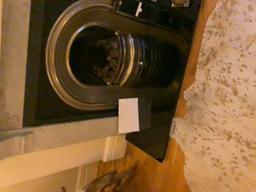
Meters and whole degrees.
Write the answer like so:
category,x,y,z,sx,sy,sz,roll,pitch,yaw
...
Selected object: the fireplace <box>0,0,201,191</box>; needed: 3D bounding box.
category,x,y,z,sx,sy,sz,roll,pitch,yaw
fireplace,-0.250,-0.280,1.390,0.710,1.200,1.540,23,108,42
